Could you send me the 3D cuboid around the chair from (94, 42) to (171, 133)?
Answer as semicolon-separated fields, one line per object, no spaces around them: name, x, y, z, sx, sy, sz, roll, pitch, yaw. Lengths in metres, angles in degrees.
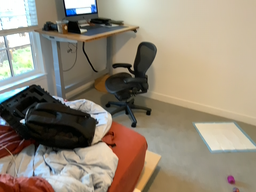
chair;0.000;-0.160;2.800;0.760;0.920;0.730;-6;28;-16

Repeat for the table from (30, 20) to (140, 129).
table;-0.510;-0.420;3.070;0.820;1.100;1.270;16;29;25
